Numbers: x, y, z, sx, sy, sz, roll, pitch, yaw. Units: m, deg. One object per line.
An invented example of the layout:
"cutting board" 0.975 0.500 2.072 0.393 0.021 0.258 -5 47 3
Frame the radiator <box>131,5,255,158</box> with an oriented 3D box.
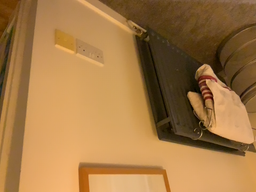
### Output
"radiator" 0.520 -0.030 1.510 1.110 0.820 0.150 20 140 -41
